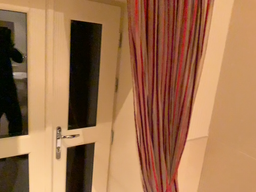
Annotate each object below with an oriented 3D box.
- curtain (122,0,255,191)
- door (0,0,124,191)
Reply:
[{"bbox_3d":[0.230,0.360,1.060,0.370,2.020,0.350,-2,15,-29],"label":"curtain"},{"bbox_3d":[-0.510,0.310,1.270,0.930,1.790,0.060,-3,16,-32],"label":"door"}]
